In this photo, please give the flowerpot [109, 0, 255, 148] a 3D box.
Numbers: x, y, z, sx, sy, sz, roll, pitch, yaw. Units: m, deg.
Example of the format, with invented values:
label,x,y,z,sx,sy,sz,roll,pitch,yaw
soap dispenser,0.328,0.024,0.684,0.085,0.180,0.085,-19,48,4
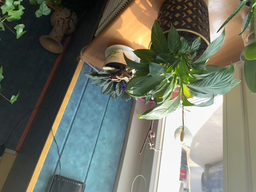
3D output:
label,x,y,z,sx,sy,sz,roll,pitch,yaw
flowerpot,0.250,-0.110,0.730,0.390,0.430,0.390,29,148,-26
